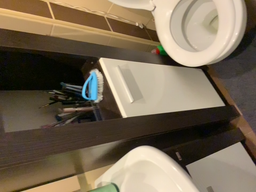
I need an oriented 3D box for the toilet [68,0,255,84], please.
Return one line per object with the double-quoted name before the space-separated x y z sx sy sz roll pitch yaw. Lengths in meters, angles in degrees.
"toilet" 0.240 -0.380 0.960 0.390 0.850 0.510 -46 59 38
